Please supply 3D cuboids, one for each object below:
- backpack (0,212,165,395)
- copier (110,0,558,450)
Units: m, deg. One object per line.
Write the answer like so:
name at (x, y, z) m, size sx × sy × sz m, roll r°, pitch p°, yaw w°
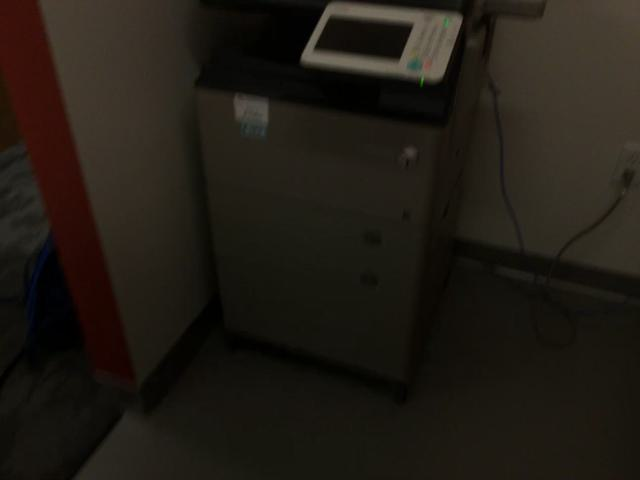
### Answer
backpack at (-0.700, 0.160, 1.560) m, size 0.440 × 0.300 × 0.250 m, roll 14°, pitch 38°, yaw 18°
copier at (0.100, -0.210, 1.440) m, size 0.730 × 1.050 × 0.730 m, roll 14°, pitch 38°, yaw 18°
